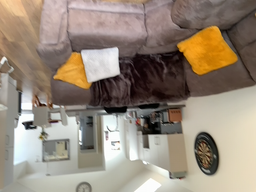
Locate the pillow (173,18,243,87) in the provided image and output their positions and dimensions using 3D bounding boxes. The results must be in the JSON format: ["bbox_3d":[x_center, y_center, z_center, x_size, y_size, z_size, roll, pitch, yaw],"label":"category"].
[{"bbox_3d":[0.790,-0.430,2.170,0.310,0.420,0.470,15,141,-32],"label":"pillow"}]

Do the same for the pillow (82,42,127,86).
[{"bbox_3d":[-0.270,-0.340,2.300,0.440,0.380,0.270,0,150,-14],"label":"pillow"}]
